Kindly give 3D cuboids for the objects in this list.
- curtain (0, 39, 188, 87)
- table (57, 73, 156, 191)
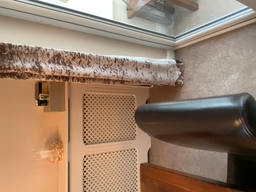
[{"bbox_3d":[-0.460,-0.190,1.320,0.330,2.150,0.130,-9,82,54],"label":"curtain"},{"bbox_3d":[-0.160,0.440,1.970,0.120,0.940,1.230,-10,81,54],"label":"table"}]
